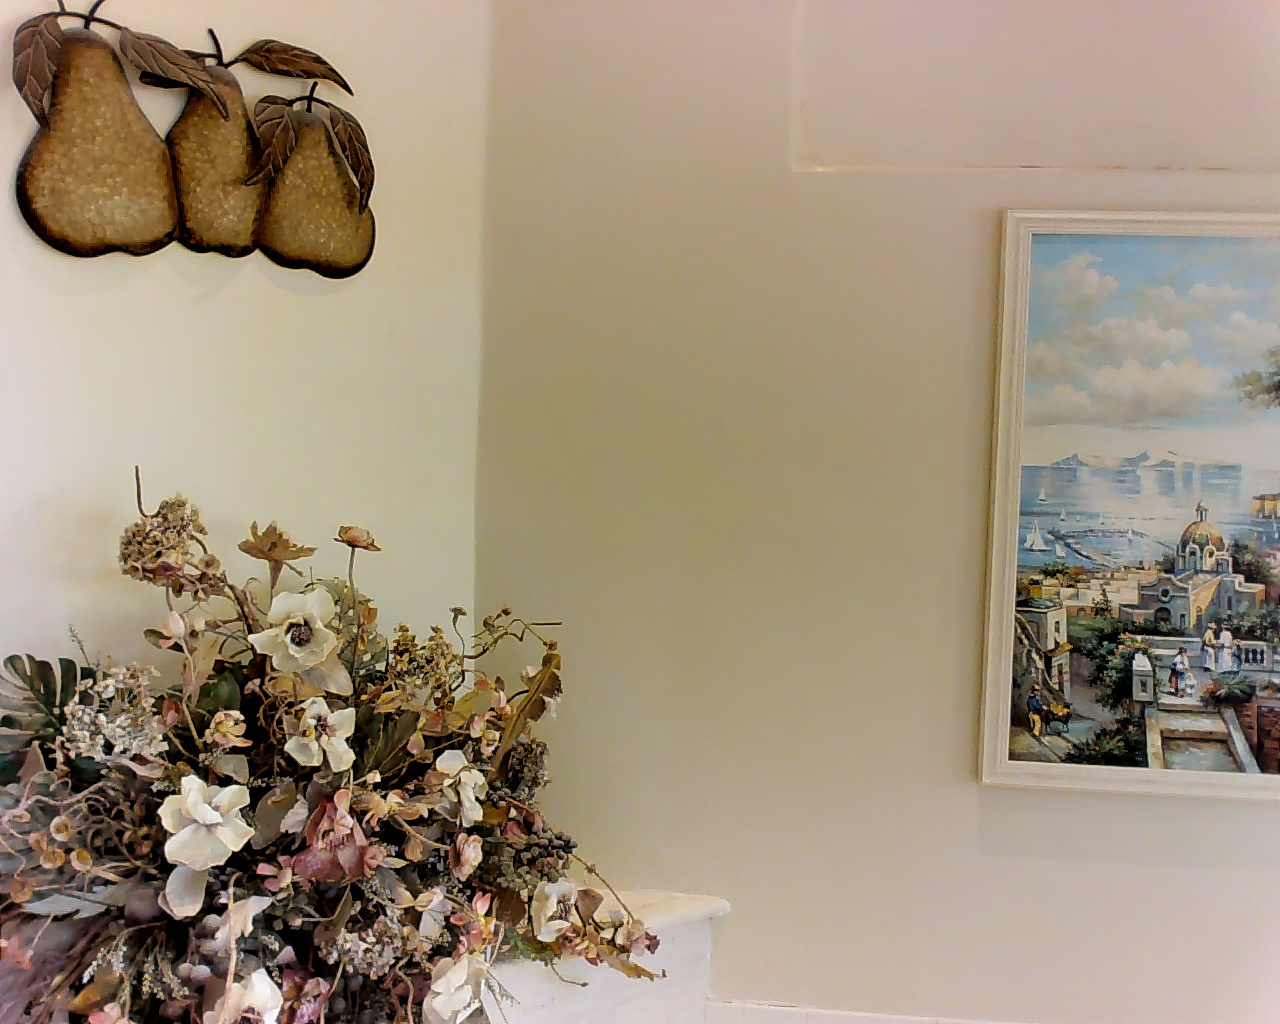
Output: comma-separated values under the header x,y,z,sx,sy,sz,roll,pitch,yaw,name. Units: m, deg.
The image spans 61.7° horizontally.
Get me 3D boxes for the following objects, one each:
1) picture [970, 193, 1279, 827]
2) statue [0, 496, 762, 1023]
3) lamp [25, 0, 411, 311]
x,y,z,sx,sy,sz,roll,pitch,yaw,name
1.330,0.000,2.420,1.070,1.410,0.050,2,2,6,picture
-0.600,0.550,1.990,1.470,1.120,0.810,0,3,-40,statue
-0.830,-0.730,2.190,0.730,0.540,0.100,0,3,-40,lamp
